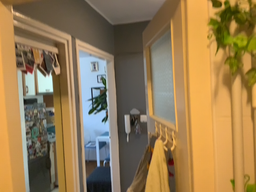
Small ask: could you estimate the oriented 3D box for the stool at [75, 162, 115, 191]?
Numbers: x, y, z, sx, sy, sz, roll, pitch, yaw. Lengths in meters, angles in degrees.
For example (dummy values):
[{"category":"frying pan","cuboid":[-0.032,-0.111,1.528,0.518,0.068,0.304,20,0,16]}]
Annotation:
[{"category":"stool","cuboid":[-0.470,1.370,3.300,0.470,0.380,0.800,-2,2,1]}]
